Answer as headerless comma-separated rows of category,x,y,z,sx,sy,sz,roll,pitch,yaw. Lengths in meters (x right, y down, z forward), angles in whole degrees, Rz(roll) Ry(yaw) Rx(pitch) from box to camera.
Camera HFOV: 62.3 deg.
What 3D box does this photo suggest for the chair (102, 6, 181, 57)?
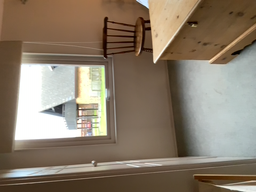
chair,0.120,-0.710,2.480,0.540,0.800,0.450,-148,58,-76
